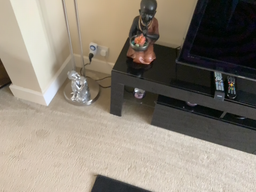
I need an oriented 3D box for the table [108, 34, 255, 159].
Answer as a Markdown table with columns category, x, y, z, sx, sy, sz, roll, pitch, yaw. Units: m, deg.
| category | x | y | z | sx | sy | sz | roll | pitch | yaw |
| --- | --- | --- | --- | --- | --- | --- | --- | --- | --- |
| table | 0.900 | 0.120 | 1.400 | 2.020 | 0.440 | 0.430 | 15 | 51 | 6 |
